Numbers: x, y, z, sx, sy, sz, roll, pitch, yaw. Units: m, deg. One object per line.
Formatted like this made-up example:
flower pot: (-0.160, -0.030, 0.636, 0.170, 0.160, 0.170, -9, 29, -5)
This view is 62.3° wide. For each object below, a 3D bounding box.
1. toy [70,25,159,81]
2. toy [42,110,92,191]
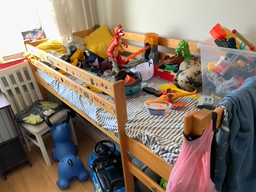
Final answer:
toy: (-0.120, -0.440, 1.980, 0.600, 0.280, 0.540, -24, 34, -31)
toy: (-0.570, 0.480, 1.960, 0.300, 0.460, 0.480, -14, 30, -17)
